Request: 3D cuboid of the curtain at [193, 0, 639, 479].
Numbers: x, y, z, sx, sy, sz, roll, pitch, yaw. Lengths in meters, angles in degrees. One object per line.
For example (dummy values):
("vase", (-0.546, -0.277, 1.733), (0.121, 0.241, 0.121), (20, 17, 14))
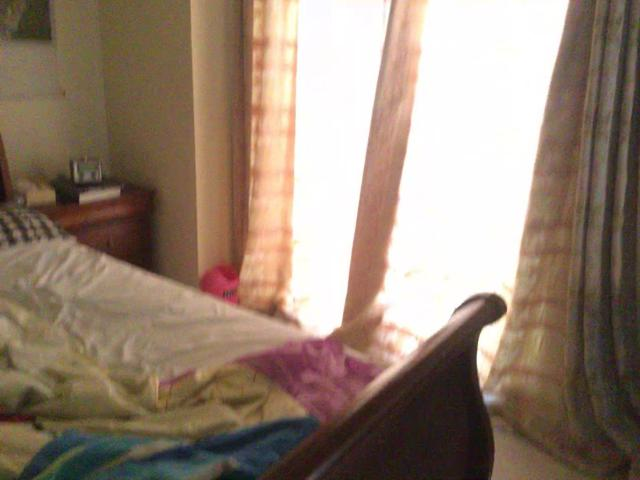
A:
("curtain", (0.410, -0.510, 2.150), (2.030, 2.300, 0.460), (13, 20, 34))
